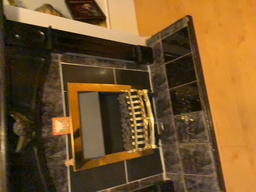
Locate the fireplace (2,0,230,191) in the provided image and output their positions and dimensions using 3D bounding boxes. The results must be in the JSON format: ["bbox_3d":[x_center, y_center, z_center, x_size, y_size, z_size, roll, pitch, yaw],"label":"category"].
[{"bbox_3d":[-0.040,0.160,1.260,0.520,1.150,1.420,-20,73,51],"label":"fireplace"}]
